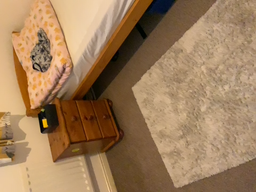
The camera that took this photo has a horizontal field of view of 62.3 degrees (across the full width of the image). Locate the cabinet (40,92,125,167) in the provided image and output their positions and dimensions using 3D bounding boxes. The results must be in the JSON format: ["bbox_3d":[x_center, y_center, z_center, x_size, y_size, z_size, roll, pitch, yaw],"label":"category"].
[{"bbox_3d":[-0.410,0.270,1.860,0.380,0.510,0.470,-46,57,38],"label":"cabinet"}]

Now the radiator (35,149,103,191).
[{"bbox_3d":[-0.360,0.890,1.570,0.060,0.460,0.960,-45,57,38],"label":"radiator"}]
